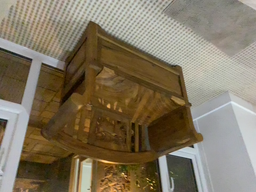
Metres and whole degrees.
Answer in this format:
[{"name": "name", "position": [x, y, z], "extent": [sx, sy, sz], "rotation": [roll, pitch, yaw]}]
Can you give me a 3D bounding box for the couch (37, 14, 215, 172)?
[{"name": "couch", "position": [-0.010, 0.080, 1.690], "extent": [1.070, 0.790, 0.640], "rotation": [19, 142, -31]}]
